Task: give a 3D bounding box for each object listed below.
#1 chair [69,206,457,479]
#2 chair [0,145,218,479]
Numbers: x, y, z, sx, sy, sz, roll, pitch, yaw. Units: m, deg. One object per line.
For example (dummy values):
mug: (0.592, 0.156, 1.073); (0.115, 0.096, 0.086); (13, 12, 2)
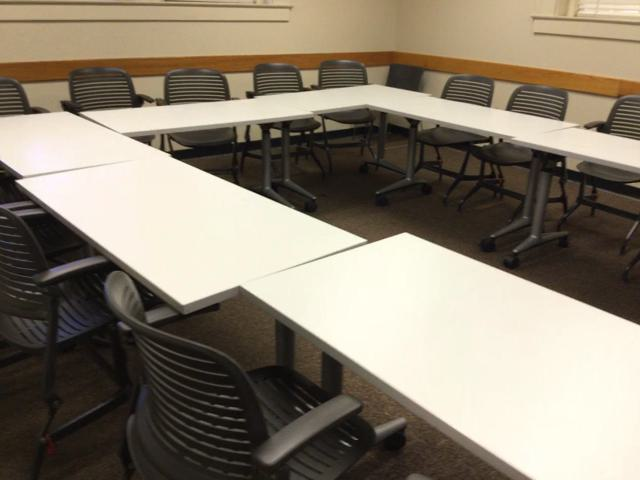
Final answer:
chair: (-0.170, 0.450, 1.310); (0.560, 0.840, 0.640); (-10, 25, -27)
chair: (-0.770, 0.220, 1.880); (0.590, 0.880, 0.630); (-16, 28, -38)
